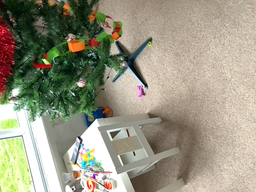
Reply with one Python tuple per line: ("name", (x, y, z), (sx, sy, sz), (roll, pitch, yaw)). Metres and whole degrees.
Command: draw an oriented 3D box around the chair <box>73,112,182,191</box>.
("chair", (0.000, 0.340, 1.330), (0.350, 0.510, 0.290), (-50, 59, 35))
